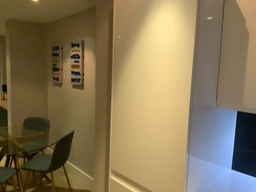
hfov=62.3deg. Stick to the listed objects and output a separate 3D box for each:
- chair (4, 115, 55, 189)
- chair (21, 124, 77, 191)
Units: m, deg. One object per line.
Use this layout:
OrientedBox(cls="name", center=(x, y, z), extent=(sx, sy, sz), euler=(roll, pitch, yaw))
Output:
OrientedBox(cls="chair", center=(-1.410, 0.770, 3.090), extent=(0.410, 0.860, 0.530), euler=(5, 7, 15))
OrientedBox(cls="chair", center=(-0.980, 0.840, 2.680), extent=(0.530, 0.870, 0.400), euler=(3, 6, 4))
